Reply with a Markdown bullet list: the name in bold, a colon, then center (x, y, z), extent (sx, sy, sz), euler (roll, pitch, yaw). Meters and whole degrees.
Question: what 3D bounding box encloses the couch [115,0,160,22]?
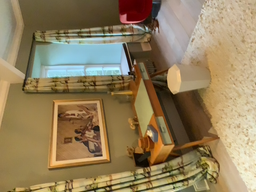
- **couch**: center (0.160, -1.860, 4.100), extent (0.750, 0.690, 0.780), euler (-131, 40, -68)
